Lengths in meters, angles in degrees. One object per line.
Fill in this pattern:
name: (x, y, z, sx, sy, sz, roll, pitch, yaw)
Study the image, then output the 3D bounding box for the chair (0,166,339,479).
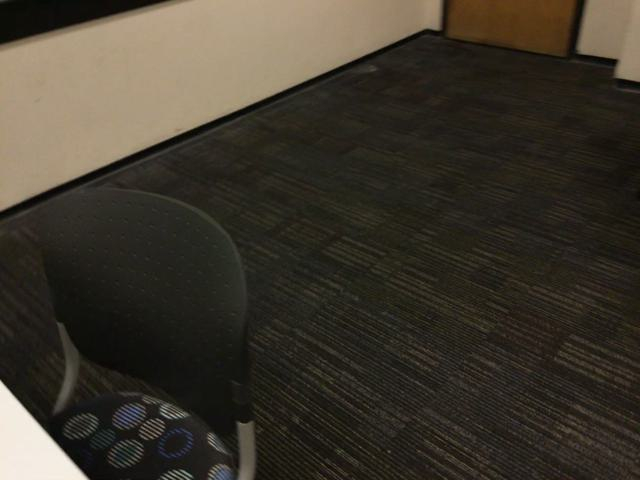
chair: (-0.390, 0.410, 1.020, 0.570, 0.860, 0.620, 14, 33, 35)
